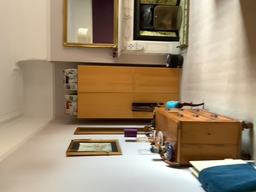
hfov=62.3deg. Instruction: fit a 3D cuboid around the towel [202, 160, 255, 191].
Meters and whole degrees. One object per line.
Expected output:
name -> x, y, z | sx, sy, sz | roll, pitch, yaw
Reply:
towel -> 0.820, 0.600, 1.510 | 0.330, 0.450, 0.160 | -150, 60, -82
